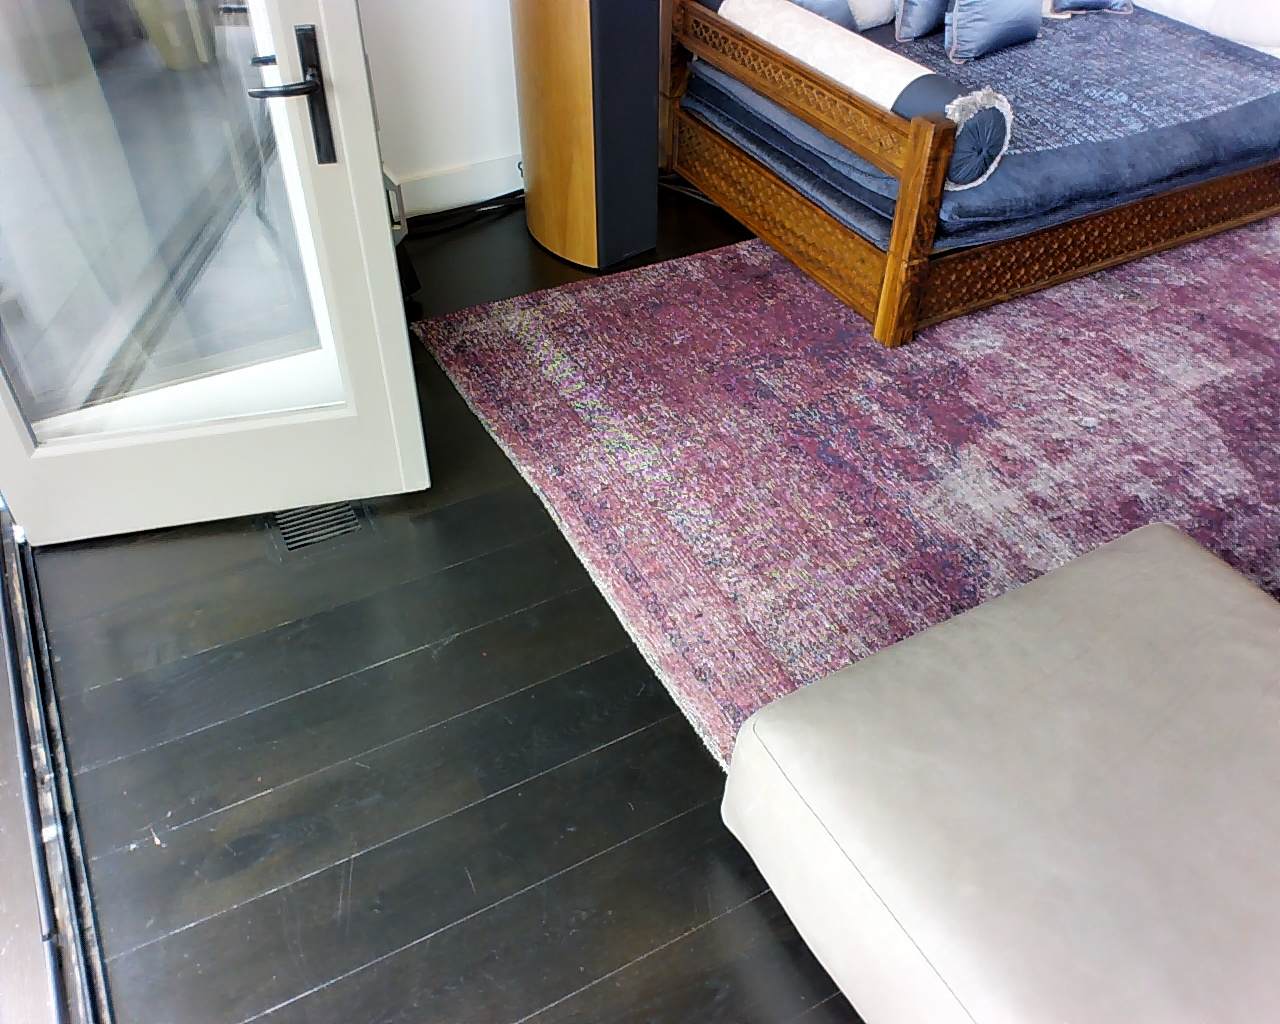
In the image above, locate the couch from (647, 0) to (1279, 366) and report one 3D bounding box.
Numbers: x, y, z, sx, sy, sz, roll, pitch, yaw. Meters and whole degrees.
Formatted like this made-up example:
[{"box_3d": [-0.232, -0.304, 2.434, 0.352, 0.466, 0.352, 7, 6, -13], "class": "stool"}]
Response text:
[{"box_3d": [1.160, -1.380, 3.190, 1.860, 0.900, 1.320, -19, 46, -21], "class": "couch"}]
